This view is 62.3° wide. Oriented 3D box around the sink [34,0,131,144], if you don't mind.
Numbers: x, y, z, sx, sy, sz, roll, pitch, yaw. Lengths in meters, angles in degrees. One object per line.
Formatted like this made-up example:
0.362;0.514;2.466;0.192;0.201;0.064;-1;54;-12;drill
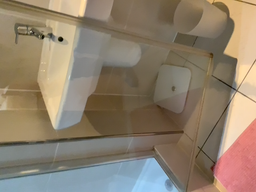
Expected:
-0.260;-0.200;0.940;0.490;0.150;0.630;50;127;45;sink
